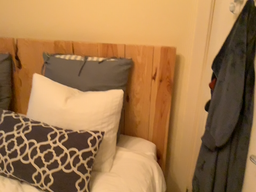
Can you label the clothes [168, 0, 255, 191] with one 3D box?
[{"bbox_3d":[0.370,0.360,1.050,0.160,1.490,0.470,0,20,-4],"label":"clothes"}]
